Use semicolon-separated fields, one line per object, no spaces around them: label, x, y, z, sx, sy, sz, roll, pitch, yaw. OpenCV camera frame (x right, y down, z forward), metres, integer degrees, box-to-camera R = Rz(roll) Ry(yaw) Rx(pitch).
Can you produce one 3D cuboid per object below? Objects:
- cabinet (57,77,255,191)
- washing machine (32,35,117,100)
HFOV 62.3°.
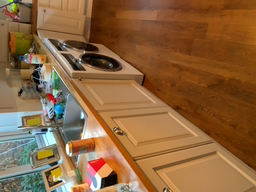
cabinet;0.240;0.530;1.530;1.930;0.910;0.600;42;125;46
washing machine;-0.760;-0.390;2.940;0.600;0.910;0.650;42;125;46
